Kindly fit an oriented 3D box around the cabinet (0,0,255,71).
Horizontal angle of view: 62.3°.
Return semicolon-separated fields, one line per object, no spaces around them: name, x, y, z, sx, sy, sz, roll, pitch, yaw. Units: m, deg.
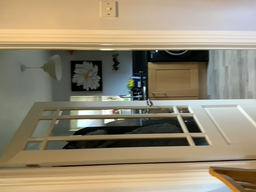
cabinet;0.170;-0.600;1.490;0.680;2.160;0.650;79;-167;-85
